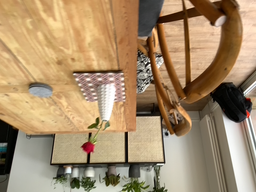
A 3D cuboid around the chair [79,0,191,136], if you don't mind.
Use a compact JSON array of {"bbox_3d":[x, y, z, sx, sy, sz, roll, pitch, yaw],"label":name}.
[{"bbox_3d":[0.030,-0.240,1.330,0.510,0.870,0.420,-3,156,2],"label":"chair"}]
